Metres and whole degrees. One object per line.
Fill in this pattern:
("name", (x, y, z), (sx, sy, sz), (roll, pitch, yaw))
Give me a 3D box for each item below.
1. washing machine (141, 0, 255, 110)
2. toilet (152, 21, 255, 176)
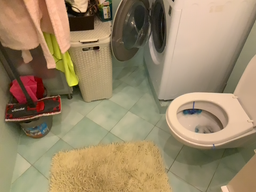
("washing machine", (0.440, -0.450, 1.610), (0.520, 0.940, 0.610), (-5, 48, -6))
("toilet", (0.480, 0.070, 1.200), (0.540, 0.840, 0.370), (-6, 48, -6))
